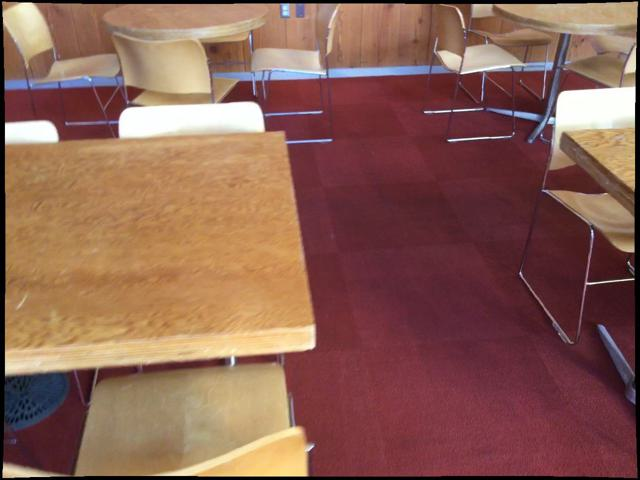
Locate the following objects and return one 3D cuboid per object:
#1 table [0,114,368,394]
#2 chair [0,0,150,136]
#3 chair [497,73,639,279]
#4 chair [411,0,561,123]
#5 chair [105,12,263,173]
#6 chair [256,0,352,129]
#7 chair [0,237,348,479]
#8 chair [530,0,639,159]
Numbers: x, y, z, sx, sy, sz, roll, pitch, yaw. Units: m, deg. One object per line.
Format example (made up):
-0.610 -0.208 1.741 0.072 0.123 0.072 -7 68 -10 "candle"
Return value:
-0.869 -0.040 1.380 1.818 0.090 1.010 -3 35 -5 "table"
-1.359 -1.031 3.320 0.579 0.700 0.480 -3 35 -5 "chair"
1.049 -0.250 1.940 0.619 0.400 0.670 -3 35 -5 "chair"
0.949 -1.121 3.470 0.629 0.660 0.510 -3 35 -5 "chair"
-0.649 -0.771 2.970 0.579 0.620 0.550 5 35 6 "chair"
-0.110 -1.091 3.430 0.500 0.680 0.520 -3 35 -5 "chair"
-0.250 0.440 1.180 0.519 0.700 0.520 -3 35 -5 "chair"
1.678 -0.941 3.240 0.580 0.680 0.580 -19 39 -26 "chair"
